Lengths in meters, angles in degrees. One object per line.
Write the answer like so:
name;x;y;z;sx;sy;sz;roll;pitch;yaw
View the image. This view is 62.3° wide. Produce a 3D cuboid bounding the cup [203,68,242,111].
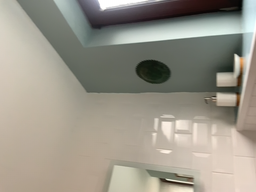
cup;0.510;-0.030;1.170;0.220;0.180;0.130;63;-146;-51
